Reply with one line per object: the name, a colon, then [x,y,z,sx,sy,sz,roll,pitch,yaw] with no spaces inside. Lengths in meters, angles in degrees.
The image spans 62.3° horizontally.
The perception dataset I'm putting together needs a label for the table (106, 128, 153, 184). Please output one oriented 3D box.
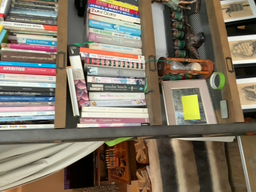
table: [-0.040,1.120,4.110,1.260,0.470,0.870,146,123,-67]
